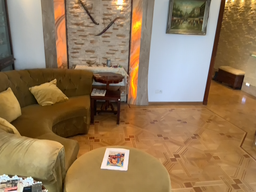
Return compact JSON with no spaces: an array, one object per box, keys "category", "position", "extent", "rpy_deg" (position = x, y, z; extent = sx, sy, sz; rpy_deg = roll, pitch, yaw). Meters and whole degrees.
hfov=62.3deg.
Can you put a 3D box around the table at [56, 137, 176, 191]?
[{"category":"table","position":[-0.100,0.780,1.720],"extent":[0.790,0.490,0.850],"rpy_deg":[2,19,-4]}]

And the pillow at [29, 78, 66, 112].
[{"category":"pillow","position":[-1.110,-0.030,2.960],"extent":[0.270,0.340,0.390],"rpy_deg":[14,22,27]}]
